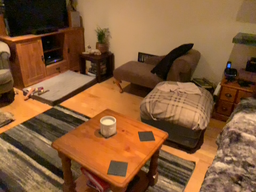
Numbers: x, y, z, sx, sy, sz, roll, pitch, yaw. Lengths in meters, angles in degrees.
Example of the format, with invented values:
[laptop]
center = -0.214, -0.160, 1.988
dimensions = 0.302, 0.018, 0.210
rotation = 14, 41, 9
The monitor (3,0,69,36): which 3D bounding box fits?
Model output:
[monitor]
center = -1.270, -1.260, 3.060
dimensions = 0.070, 0.610, 0.990
rotation = 17, 31, 28
